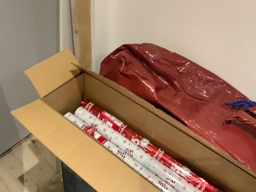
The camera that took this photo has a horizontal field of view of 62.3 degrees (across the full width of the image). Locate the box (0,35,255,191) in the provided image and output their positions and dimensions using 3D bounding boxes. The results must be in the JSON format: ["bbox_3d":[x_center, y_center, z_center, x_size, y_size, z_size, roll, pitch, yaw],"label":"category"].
[{"bbox_3d":[0.070,0.210,0.690,1.020,0.400,0.400,25,44,20],"label":"box"}]
